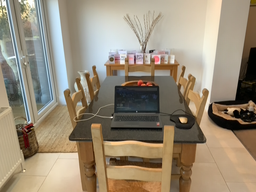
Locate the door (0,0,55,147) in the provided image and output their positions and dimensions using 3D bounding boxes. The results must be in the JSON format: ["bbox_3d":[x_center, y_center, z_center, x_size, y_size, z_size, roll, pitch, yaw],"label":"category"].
[{"bbox_3d":[-1.610,-0.460,2.920,0.100,1.910,2.040,2,20,6],"label":"door"}]

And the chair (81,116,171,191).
[{"bbox_3d":[0.020,0.640,1.410,0.440,0.860,0.490,2,20,7],"label":"chair"}]

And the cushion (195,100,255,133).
[{"bbox_3d":[1.650,0.290,3.200,1.050,0.230,0.630,-1,20,0],"label":"cushion"}]

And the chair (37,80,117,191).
[{"bbox_3d":[-0.390,0.400,1.890,0.490,0.980,0.460,1,20,5],"label":"chair"}]
